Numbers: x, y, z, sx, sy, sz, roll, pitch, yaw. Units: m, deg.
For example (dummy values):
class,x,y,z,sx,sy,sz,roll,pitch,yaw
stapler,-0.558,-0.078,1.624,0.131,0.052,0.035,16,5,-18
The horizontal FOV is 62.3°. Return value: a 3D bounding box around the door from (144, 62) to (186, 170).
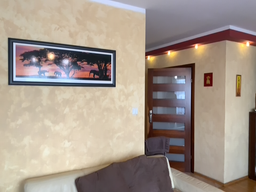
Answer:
class,x,y,z,sx,sy,sz,roll,pitch,yaw
door,0.720,0.380,4.180,0.780,2.080,0.130,1,2,11
